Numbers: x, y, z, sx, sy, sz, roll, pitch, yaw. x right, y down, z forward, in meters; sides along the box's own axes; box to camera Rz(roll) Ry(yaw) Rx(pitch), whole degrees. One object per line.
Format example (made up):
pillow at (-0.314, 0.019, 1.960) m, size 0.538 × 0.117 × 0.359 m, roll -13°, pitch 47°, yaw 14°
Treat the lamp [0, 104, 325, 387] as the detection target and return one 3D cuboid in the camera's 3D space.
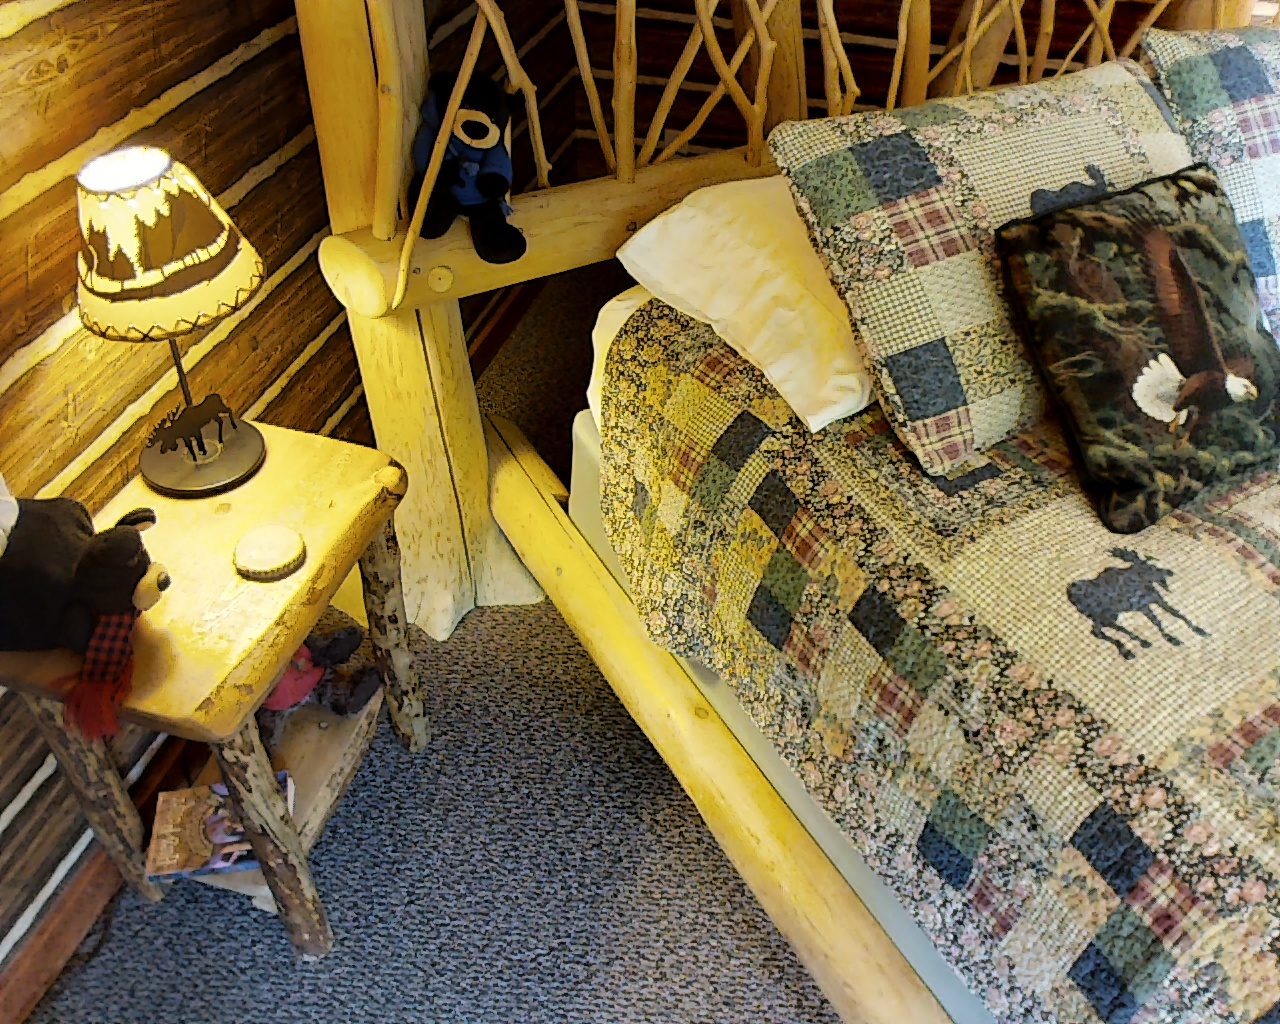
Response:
lamp at (-0.570, -0.330, 1.310) m, size 0.230 × 0.210 × 0.240 m, roll 16°, pitch 45°, yaw 16°
